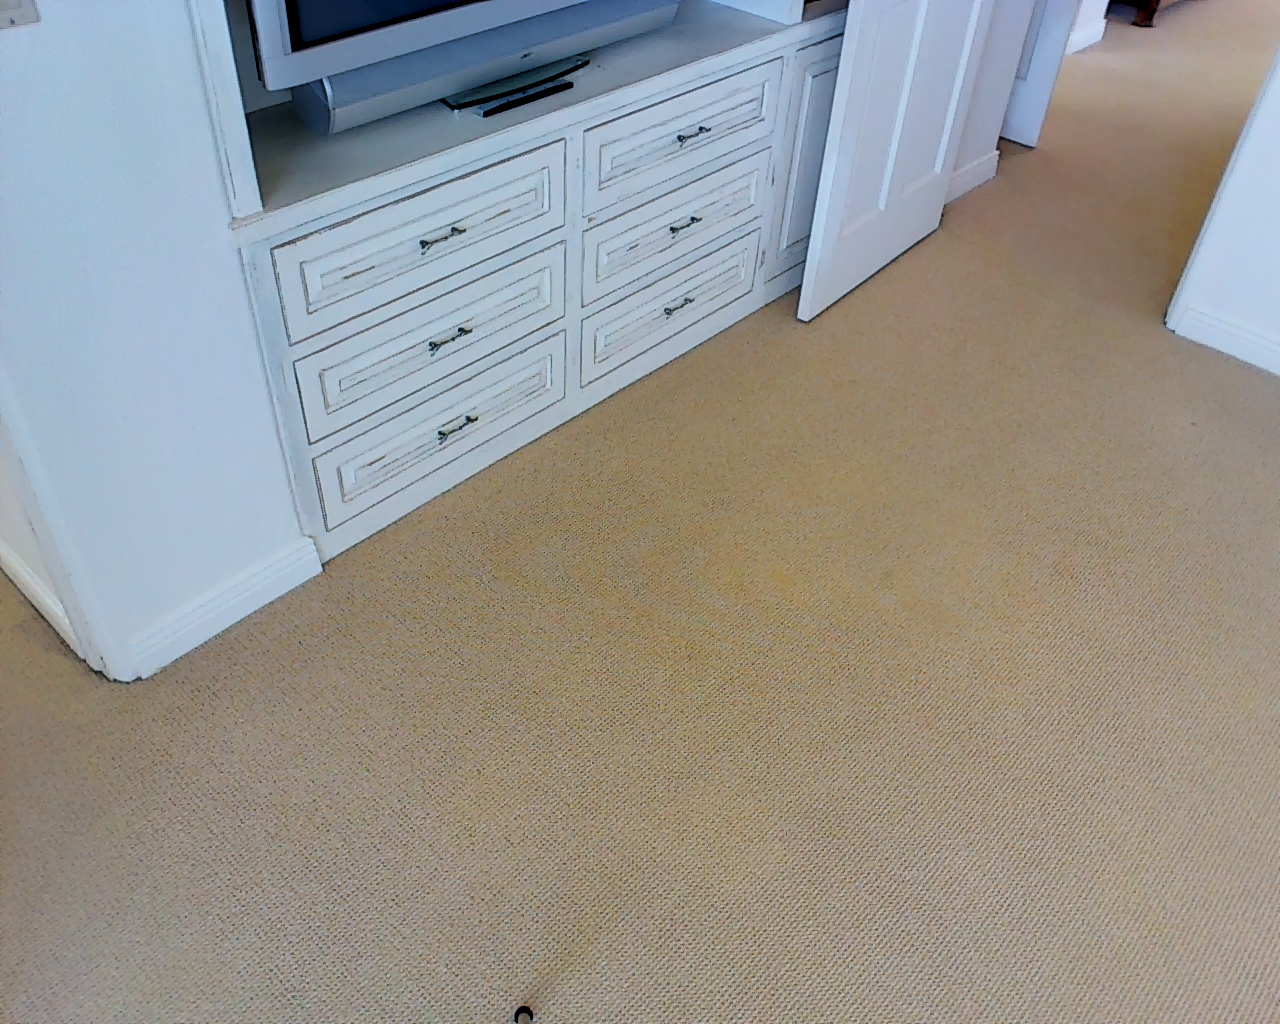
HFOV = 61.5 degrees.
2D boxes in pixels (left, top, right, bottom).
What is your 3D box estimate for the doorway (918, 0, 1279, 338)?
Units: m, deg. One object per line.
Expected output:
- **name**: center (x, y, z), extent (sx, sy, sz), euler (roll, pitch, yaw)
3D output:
- **doorway**: center (1.390, -1.550, 2.710), extent (0.980, 2.080, 0.150), euler (33, 49, 29)
